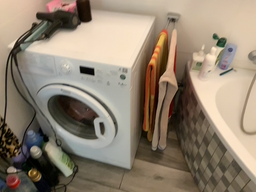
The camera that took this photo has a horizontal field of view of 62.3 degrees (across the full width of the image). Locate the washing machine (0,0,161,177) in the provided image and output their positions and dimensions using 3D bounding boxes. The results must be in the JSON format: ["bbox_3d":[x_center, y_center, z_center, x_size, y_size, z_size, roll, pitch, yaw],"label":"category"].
[{"bbox_3d":[-0.220,-0.060,1.350,0.660,0.820,0.640,12,45,11],"label":"washing machine"}]
